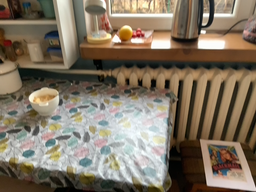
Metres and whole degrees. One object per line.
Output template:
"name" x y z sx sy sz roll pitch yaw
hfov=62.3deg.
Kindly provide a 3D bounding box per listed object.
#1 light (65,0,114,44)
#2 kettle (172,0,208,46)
"light" -0.190 -0.440 1.140 0.160 0.230 0.280 5 33 9
"kettle" 0.310 -0.400 1.090 0.130 0.240 0.160 3 32 6
